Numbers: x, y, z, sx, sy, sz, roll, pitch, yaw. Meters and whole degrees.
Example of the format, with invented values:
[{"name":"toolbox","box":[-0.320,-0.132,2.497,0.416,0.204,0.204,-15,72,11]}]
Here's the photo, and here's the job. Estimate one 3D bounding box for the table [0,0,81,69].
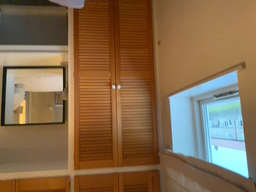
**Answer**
[{"name":"table","box":[-1.010,-0.730,2.330,0.910,0.770,0.490,-1,173,-8]}]
